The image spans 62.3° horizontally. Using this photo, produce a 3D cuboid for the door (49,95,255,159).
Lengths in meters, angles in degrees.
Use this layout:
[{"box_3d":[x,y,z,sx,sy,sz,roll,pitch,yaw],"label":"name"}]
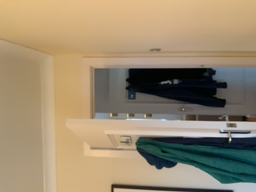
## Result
[{"box_3d":[0.610,0.290,1.600,0.920,2.070,0.180,83,-171,-65],"label":"door"}]
